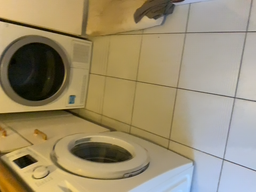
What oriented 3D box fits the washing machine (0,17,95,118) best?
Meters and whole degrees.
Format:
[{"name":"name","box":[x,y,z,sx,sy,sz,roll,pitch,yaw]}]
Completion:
[{"name":"washing machine","box":[-0.840,-0.230,1.750,0.630,0.850,0.630,14,100,40]}]
